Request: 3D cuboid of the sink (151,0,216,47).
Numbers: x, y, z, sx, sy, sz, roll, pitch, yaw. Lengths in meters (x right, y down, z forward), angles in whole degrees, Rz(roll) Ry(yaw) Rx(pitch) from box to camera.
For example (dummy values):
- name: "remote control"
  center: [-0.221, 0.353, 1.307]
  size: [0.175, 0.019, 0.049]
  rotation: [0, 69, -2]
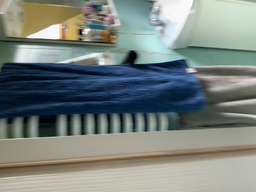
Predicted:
- name: "sink"
  center: [0.360, -0.660, 1.470]
  size: [0.500, 0.190, 0.420]
  rotation: [-105, 20, -45]
